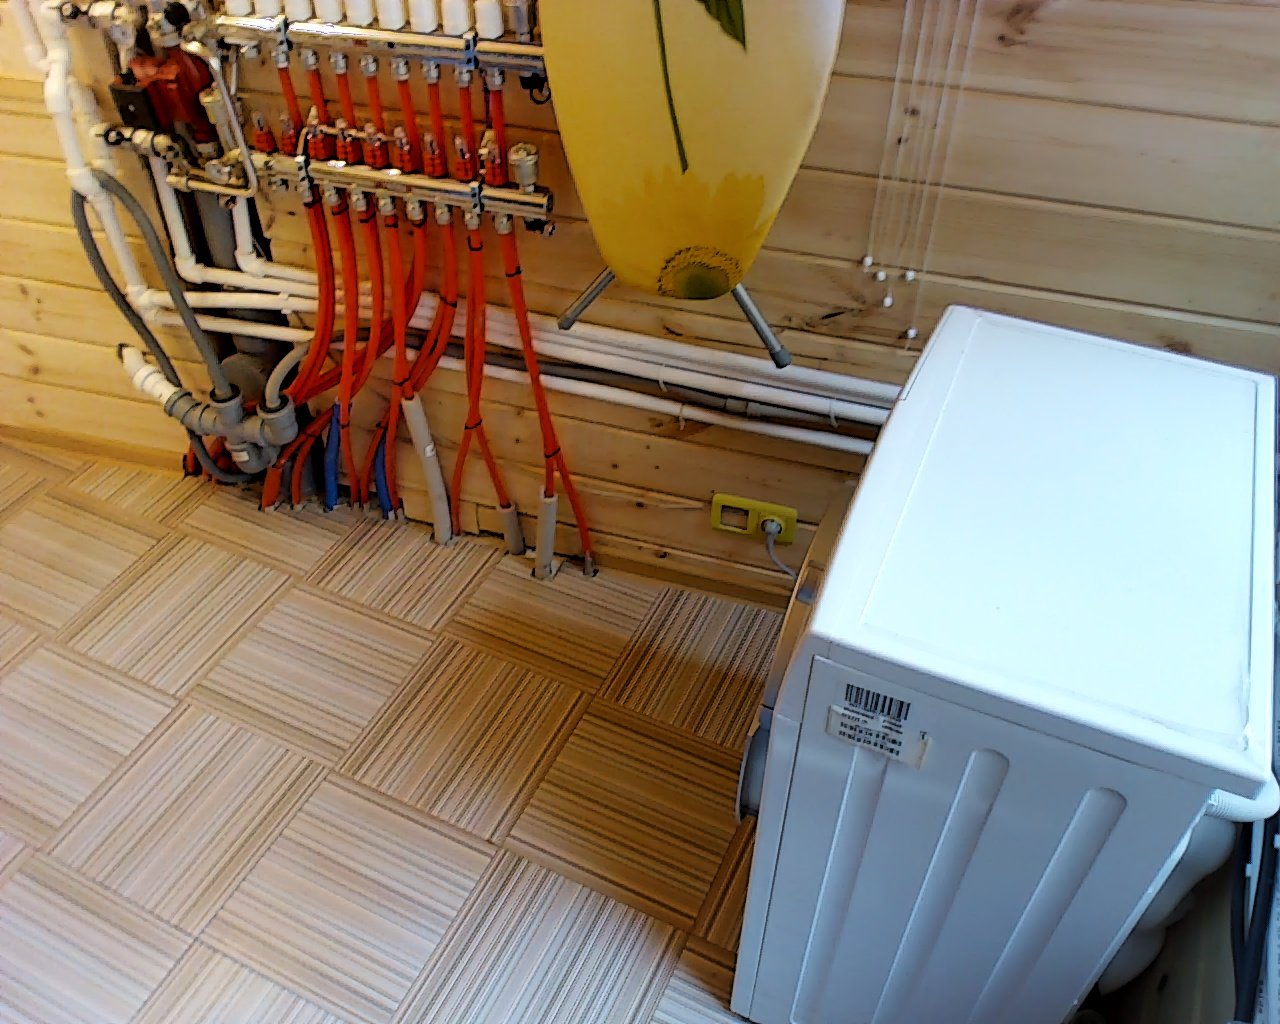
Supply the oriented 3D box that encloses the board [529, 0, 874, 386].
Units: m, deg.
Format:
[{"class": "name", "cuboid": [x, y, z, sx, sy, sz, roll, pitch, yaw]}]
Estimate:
[{"class": "board", "cuboid": [0.080, -0.820, 1.200, 0.420, 1.500, 0.120, 12, 44, 11]}]
